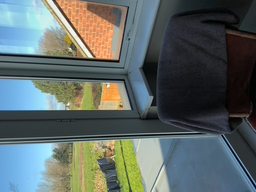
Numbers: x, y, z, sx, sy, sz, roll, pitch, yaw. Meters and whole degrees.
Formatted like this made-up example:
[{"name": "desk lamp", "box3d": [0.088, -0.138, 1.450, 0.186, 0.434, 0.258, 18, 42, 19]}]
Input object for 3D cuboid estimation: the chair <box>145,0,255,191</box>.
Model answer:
[{"name": "chair", "box3d": [0.590, -0.060, 0.940, 0.680, 0.760, 0.600, -116, 31, -58]}]
